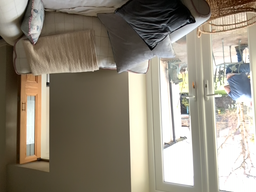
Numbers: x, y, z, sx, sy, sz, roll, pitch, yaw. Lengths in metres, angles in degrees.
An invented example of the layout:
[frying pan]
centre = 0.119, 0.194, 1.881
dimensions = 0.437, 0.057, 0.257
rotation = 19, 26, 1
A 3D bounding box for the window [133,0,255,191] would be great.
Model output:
[window]
centre = 0.740, 0.040, 2.140
dimensions = 1.350, 2.290, 0.300
rotation = -3, 175, 30

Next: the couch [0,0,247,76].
[couch]
centre = -0.200, -0.680, 1.460
dimensions = 1.350, 0.900, 1.110
rotation = -1, 176, -21
